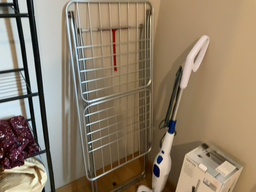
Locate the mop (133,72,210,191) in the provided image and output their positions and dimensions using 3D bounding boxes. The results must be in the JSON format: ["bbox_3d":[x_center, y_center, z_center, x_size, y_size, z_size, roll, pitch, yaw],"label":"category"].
[{"bbox_3d":[0.240,0.320,1.410,0.180,0.890,0.310,-13,33,-31],"label":"mop"}]
